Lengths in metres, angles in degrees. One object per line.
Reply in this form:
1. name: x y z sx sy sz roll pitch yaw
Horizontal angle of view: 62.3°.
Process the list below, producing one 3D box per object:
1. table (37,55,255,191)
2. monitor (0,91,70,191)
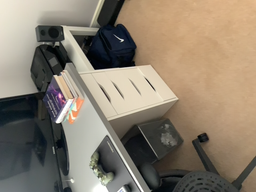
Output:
1. table: 0.130 0.570 1.360 1.540 0.720 0.800 54 133 23
2. monitor: -0.610 0.380 1.220 0.070 0.470 0.750 -1 99 47
